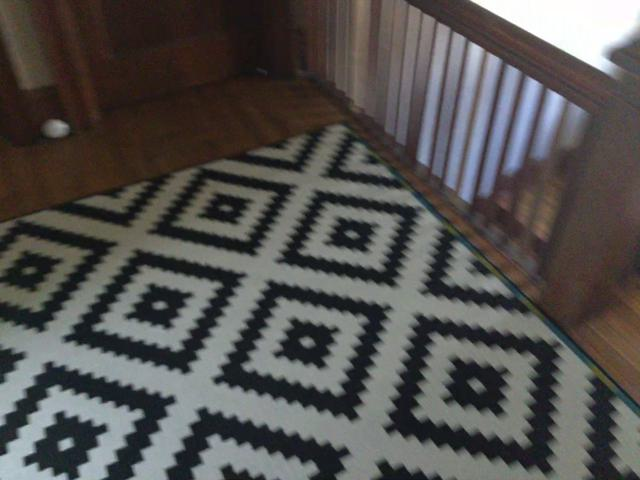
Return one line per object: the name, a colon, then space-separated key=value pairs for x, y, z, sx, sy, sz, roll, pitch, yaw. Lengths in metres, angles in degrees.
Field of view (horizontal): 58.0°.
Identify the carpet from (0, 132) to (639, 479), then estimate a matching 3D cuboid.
carpet: x=-0.320 y=0.400 z=1.540 sx=1.940 sy=0.110 sz=1.880 roll=-22 pitch=41 yaw=-19
